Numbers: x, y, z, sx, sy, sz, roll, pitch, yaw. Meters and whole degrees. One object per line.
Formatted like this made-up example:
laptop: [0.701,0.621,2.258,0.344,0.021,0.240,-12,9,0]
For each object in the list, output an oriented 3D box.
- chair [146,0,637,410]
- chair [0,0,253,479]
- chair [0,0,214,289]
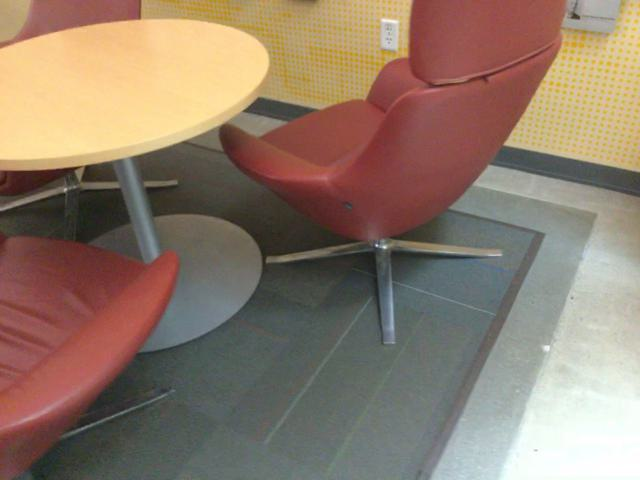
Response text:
chair: [0.160,-0.370,1.690,0.890,1.090,0.900,-27,45,-31]
chair: [-0.780,0.140,1.150,0.900,1.040,0.900,22,38,26]
chair: [-1.040,-0.590,2.100,0.880,1.050,0.830,15,40,18]
